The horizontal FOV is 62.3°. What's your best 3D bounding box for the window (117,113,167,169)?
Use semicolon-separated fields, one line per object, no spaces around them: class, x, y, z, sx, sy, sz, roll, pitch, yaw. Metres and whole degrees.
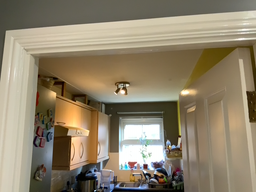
window;0.260;0.870;4.170;0.940;1.050;0.120;-2;-11;8
